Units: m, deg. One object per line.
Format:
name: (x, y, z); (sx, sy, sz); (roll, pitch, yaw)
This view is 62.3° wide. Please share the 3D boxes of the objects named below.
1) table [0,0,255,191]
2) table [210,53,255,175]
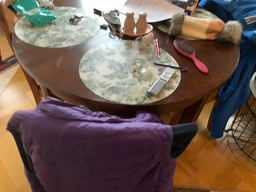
table: (-0.040, -0.060, 1.260); (0.990, 0.780, 0.960); (7, 46, 0)
table: (0.960, 0.130, 1.410); (0.550, 0.480, 0.630); (7, 47, 0)
